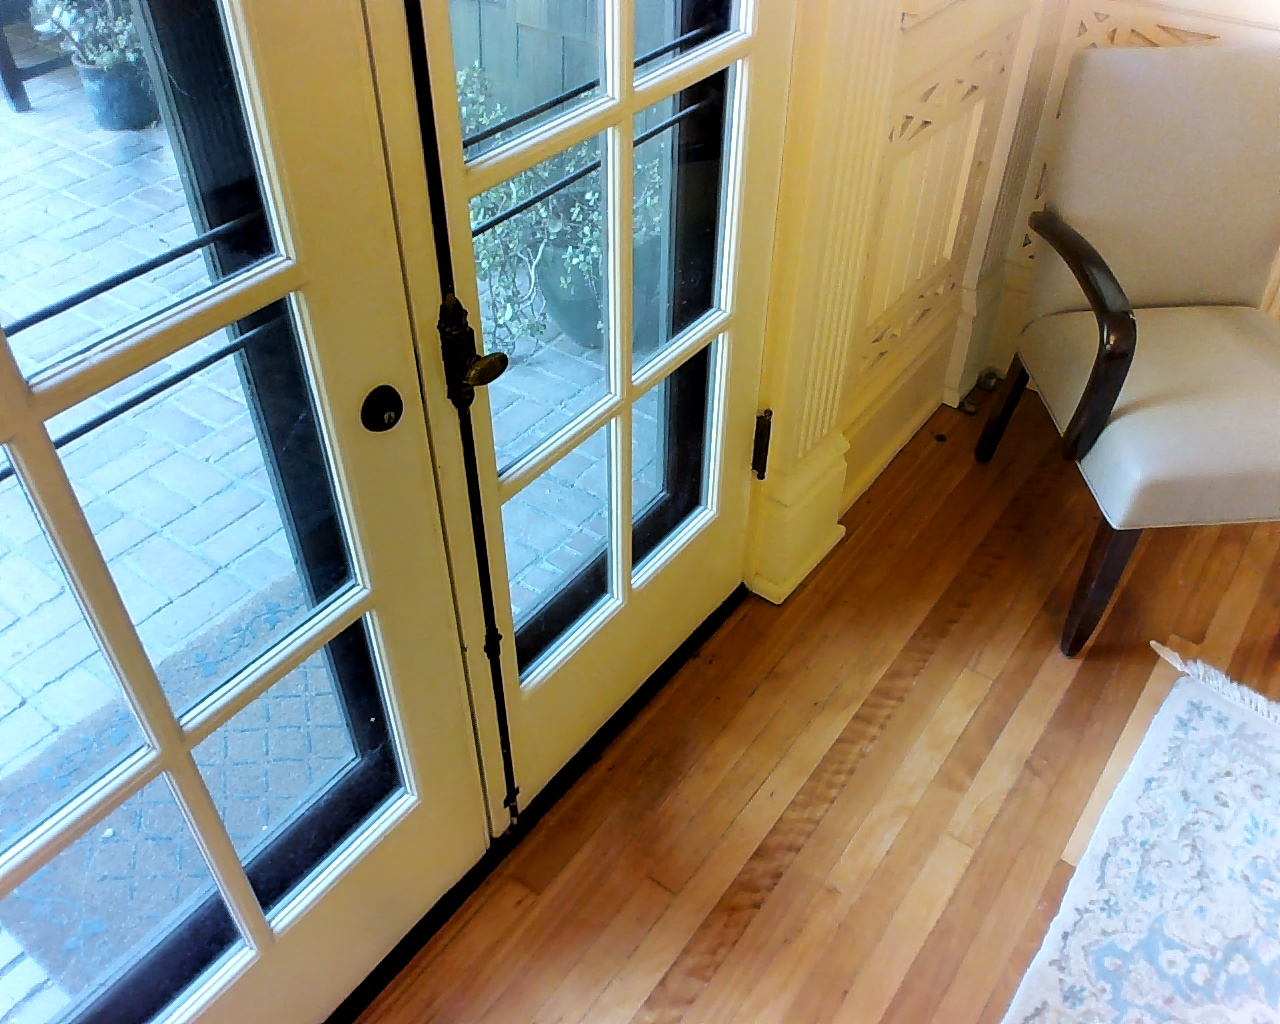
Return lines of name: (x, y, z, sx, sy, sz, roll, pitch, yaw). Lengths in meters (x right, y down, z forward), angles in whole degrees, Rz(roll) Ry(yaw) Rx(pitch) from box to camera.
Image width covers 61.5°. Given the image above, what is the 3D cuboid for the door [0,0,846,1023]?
door: (-0.260, -0.380, 0.950, 0.180, 2.410, 1.550, 27, 49, 26)
